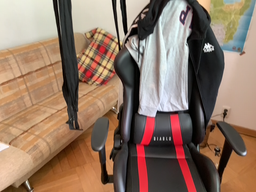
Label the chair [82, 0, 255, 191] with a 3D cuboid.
[{"bbox_3d":[0.210,0.220,1.150,0.660,1.370,0.730,2,27,1],"label":"chair"}]
